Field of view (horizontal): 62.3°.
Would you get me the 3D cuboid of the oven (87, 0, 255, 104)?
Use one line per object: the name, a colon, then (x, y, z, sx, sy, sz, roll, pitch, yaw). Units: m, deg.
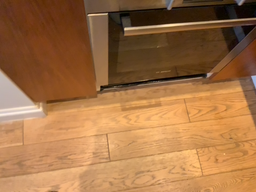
oven: (0.120, -0.440, 0.930, 0.590, 0.890, 0.640, -7, 71, -8)
